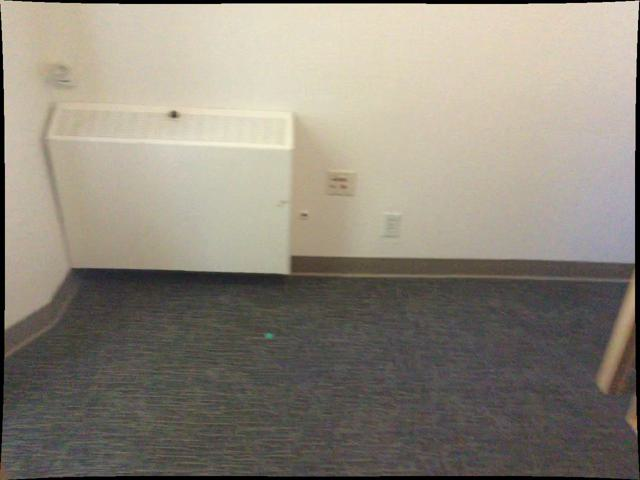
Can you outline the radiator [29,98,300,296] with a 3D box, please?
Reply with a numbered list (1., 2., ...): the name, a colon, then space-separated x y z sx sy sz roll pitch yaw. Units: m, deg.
1. radiator: -0.569 -0.150 2.330 0.948 0.761 0.210 2 31 -3
